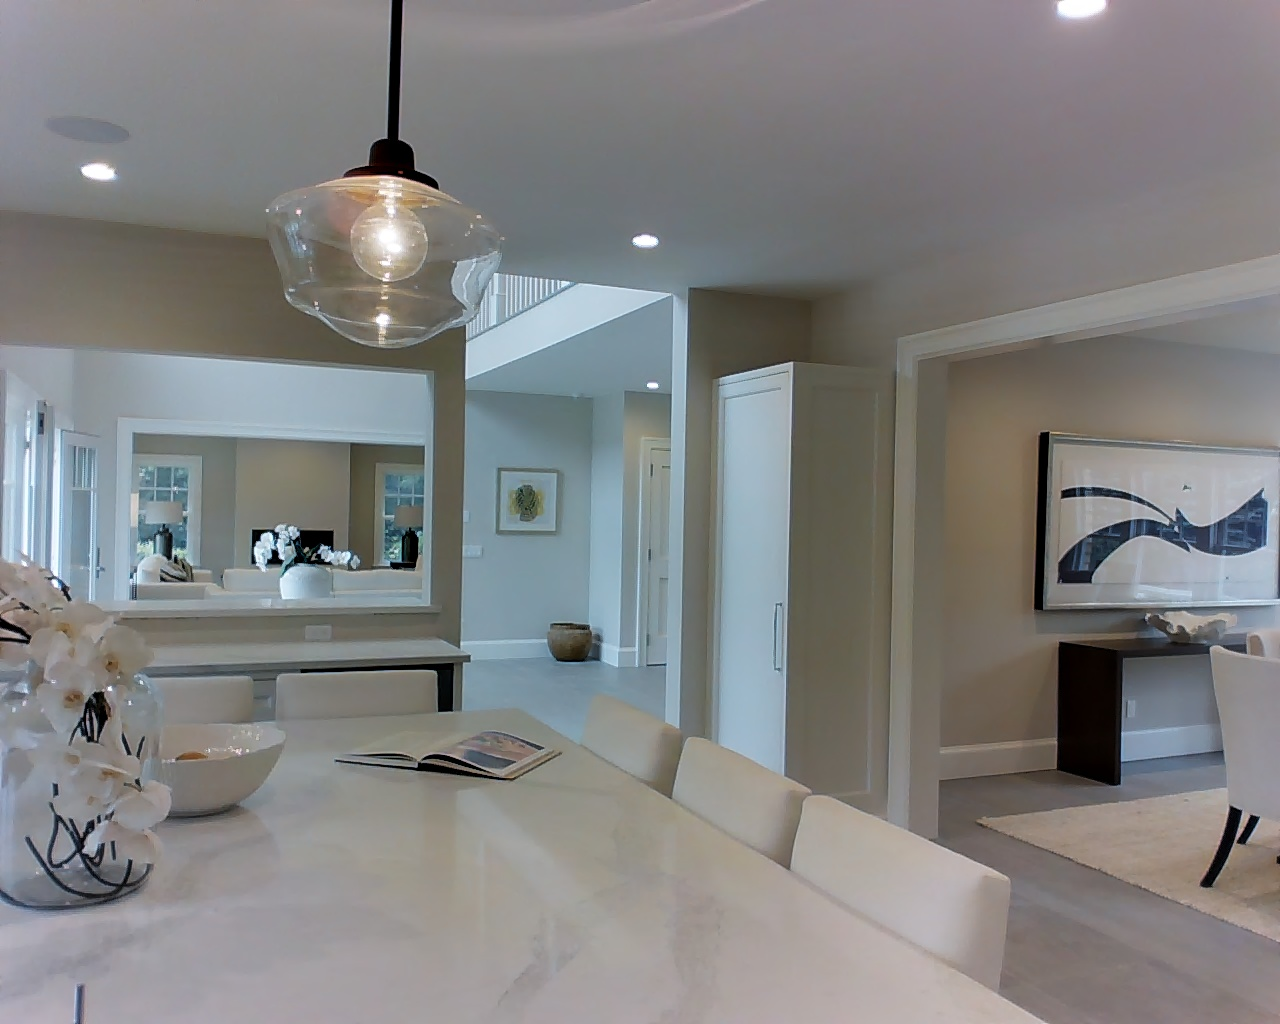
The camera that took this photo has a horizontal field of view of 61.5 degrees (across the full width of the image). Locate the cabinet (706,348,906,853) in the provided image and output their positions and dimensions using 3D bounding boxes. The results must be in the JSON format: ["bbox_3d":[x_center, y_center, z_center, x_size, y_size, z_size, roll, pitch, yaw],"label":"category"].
[{"bbox_3d":[0.820,0.410,5.460,0.610,2.330,0.830,1,0,-23],"label":"cabinet"}]
